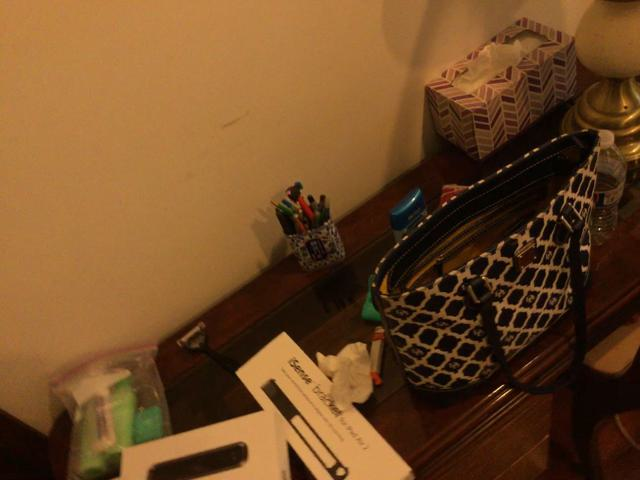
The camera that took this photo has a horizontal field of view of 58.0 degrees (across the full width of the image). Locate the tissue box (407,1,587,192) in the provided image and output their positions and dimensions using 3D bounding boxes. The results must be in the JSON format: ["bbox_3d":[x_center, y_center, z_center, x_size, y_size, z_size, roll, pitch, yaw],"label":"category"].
[{"bbox_3d":[0.310,-0.250,1.010,0.260,0.190,0.130,-33,48,-9],"label":"tissue box"}]
